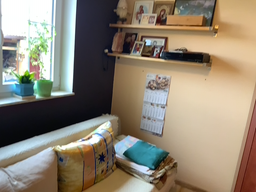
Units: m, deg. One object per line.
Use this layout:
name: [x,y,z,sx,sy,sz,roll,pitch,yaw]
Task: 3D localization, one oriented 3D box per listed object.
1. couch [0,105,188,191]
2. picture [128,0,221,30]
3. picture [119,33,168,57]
couch: [-0.400,0.760,1.730,1.080,0.810,2.150,13,14,28]
picture: [0.480,-0.920,2.340,0.960,0.280,0.170,13,13,25]
picture: [0.180,-0.620,2.570,0.560,0.230,0.160,13,14,28]
